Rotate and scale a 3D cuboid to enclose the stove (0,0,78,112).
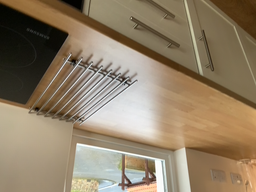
[{"bbox_3d":[-0.550,-0.140,0.670,0.580,0.040,0.570,19,145,-31],"label":"stove"}]
